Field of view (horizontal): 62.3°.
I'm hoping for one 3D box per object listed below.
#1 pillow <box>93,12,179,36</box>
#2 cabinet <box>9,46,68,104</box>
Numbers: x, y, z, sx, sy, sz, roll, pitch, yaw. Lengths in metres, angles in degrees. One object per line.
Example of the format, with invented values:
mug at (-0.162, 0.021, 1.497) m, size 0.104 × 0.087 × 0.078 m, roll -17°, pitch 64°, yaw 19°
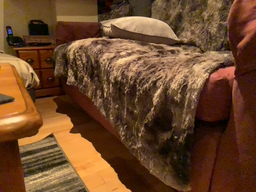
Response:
pillow at (0.030, -0.450, 1.370) m, size 0.390 × 0.120 × 0.440 m, roll -8°, pitch 18°, yaw -24°
cabinet at (-0.860, -0.230, 2.030) m, size 0.400 × 0.460 × 0.430 m, roll -11°, pitch 19°, yaw -32°
